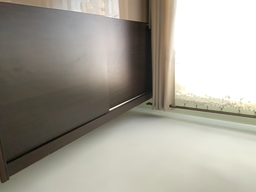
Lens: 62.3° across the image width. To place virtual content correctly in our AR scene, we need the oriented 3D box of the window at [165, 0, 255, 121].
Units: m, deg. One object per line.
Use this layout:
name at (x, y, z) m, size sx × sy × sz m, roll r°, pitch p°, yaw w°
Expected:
window at (1.160, -0.530, 2.150) m, size 1.550 × 1.530 × 0.180 m, roll 9°, pitch -162°, yaw 32°
